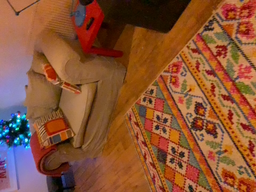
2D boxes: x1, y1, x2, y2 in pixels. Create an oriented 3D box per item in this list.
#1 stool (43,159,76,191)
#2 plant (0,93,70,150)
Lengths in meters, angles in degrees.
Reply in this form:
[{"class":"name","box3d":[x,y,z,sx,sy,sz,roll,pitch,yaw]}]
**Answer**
[{"class":"stool","box3d":[-1.140,1.330,3.500,0.400,0.350,0.400,-51,50,40]},{"class":"plant","box3d":[-1.870,0.420,3.530,0.620,1.530,0.680,-55,48,37]}]
